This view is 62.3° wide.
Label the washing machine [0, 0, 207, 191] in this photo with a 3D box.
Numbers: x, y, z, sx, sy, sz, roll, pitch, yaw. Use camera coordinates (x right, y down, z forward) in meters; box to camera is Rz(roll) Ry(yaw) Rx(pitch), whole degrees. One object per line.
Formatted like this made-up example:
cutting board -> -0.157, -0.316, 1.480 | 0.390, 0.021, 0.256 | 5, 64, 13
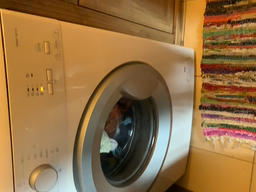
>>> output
washing machine -> -0.150, 0.090, 0.820 | 0.570, 0.850, 0.610 | 9, 100, 37
